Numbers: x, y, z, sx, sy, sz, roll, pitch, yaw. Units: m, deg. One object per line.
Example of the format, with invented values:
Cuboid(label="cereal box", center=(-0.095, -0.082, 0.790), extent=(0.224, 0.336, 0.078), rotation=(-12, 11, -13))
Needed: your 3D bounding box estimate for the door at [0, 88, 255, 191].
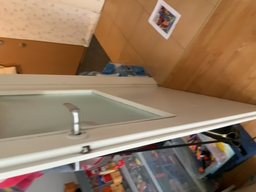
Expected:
Cuboid(label="door", center=(-0.280, 0.060, 0.770), extent=(0.760, 2.210, 0.050), rotation=(17, 105, 51))
